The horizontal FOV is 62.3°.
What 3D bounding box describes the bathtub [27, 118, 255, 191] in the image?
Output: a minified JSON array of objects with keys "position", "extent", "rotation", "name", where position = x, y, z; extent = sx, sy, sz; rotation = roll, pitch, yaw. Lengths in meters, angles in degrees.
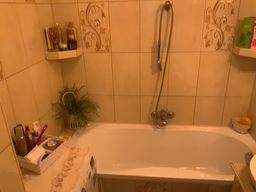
[{"position":[0.180,0.670,1.860],"extent":[1.740,0.610,0.680],"rotation":[2,23,7],"name":"bathtub"}]
